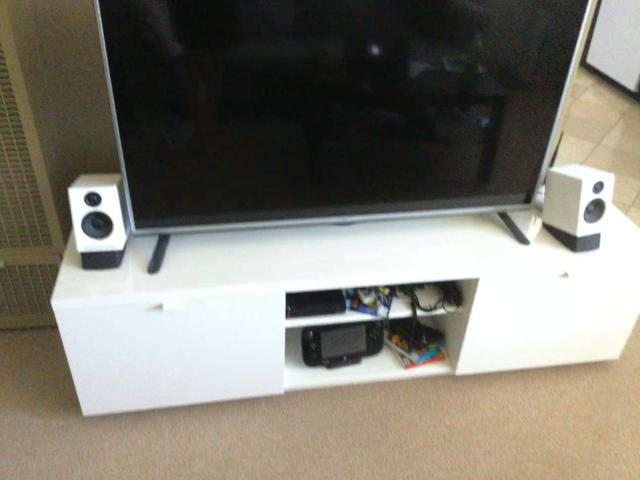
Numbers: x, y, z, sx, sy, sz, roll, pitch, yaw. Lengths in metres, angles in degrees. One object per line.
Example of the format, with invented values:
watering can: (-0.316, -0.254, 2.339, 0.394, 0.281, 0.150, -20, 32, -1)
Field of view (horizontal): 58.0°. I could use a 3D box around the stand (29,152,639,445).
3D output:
stand: (0.130, 0.140, 1.710, 1.630, 0.500, 0.470, -6, 33, -5)
